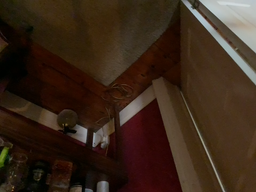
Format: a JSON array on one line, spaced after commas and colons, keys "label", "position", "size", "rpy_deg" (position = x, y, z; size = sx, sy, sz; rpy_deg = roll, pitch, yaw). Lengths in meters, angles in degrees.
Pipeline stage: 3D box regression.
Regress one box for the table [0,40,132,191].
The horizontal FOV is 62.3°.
[{"label": "table", "position": [-0.510, 0.220, 1.500], "size": [0.950, 0.750, 0.450], "rpy_deg": [33, 120, -29]}]
